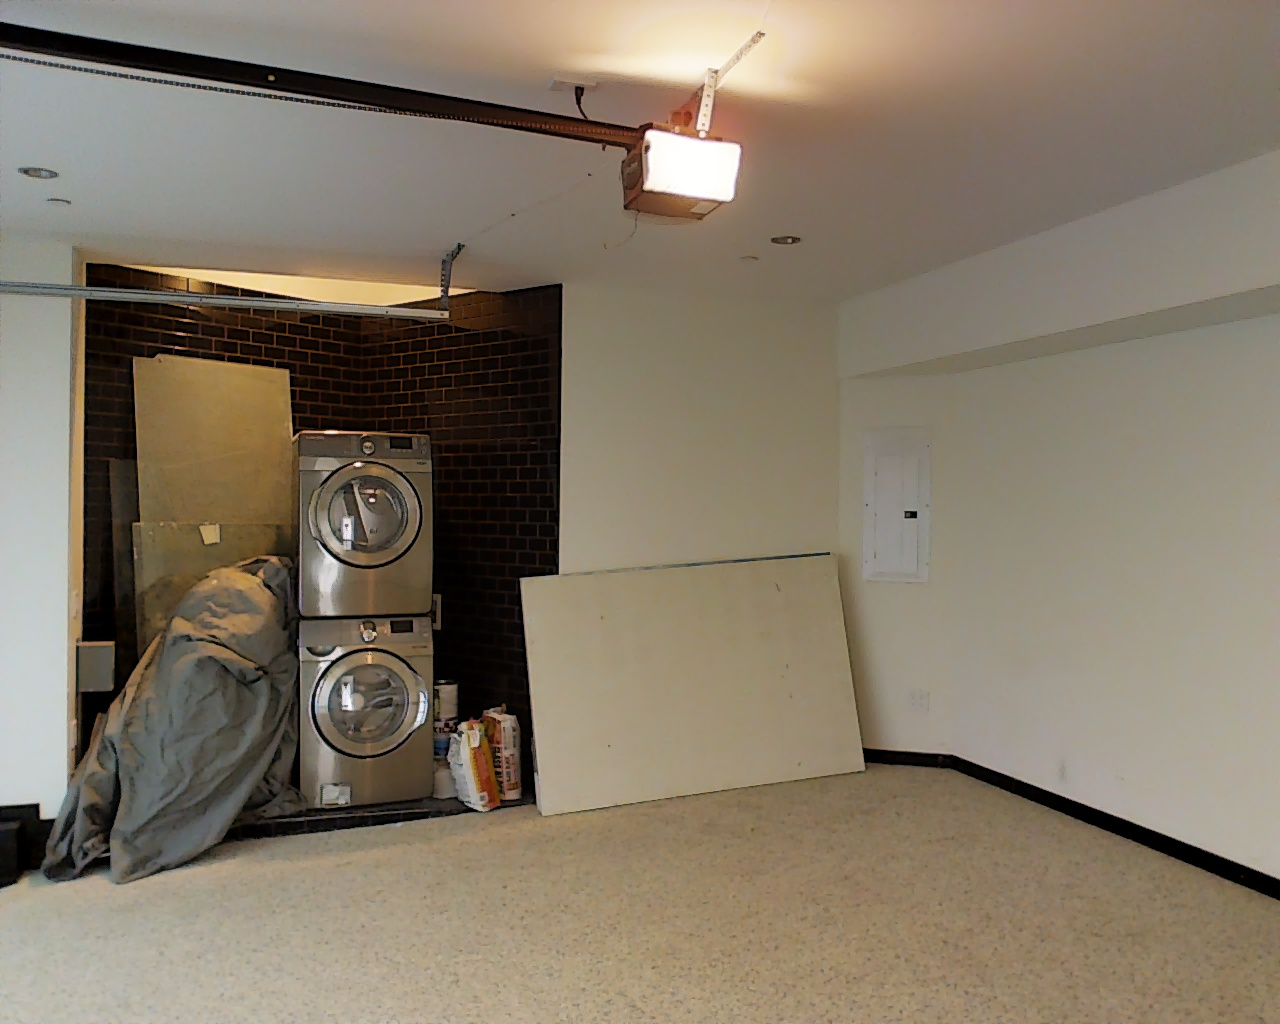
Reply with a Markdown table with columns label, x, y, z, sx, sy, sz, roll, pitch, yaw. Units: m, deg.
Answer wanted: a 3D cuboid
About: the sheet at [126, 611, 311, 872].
| label | x | y | z | sx | sy | sz | roll | pitch | yaw |
| --- | --- | --- | --- | --- | --- | --- | --- | --- | --- |
| sheet | -2.030 | 1.080 | 5.230 | 0.800 | 1.150 | 0.330 | 0 | -7 | -19 |
